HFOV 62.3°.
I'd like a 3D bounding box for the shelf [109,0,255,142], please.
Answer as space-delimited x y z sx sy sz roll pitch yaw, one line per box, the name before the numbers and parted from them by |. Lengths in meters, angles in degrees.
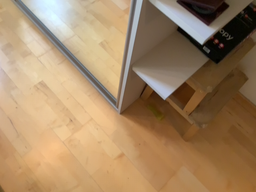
shelf | 0.370 -0.550 0.260 0.690 2.430 0.330 -39 75 -20
